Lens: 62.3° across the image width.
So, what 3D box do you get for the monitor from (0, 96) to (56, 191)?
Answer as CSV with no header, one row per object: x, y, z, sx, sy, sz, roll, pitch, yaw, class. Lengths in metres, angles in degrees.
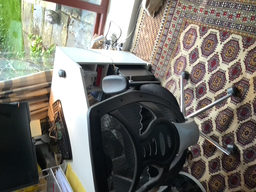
-0.870,0.340,1.650,0.060,0.490,0.660,-26,75,46,monitor
